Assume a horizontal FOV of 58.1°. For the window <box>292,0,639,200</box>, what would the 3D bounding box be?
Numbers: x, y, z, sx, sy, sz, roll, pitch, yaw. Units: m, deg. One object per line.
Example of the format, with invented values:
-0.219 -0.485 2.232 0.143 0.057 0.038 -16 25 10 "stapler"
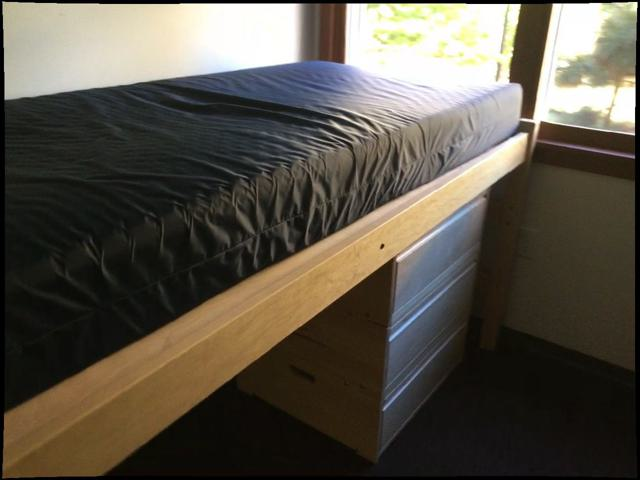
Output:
0.768 -0.842 1.970 1.927 1.203 0.320 17 29 31 "window"
